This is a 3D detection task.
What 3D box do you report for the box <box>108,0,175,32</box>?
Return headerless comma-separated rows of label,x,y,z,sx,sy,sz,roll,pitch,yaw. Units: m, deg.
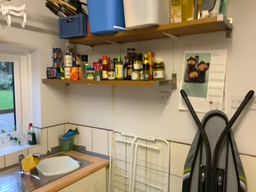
box,0.090,-0.630,1.310,0.320,0.380,0.290,3,6,30
